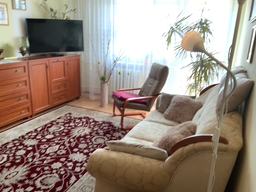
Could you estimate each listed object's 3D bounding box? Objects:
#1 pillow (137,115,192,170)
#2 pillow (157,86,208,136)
[{"bbox_3d":[0.320,0.380,1.800,0.120,0.380,0.420,48,29,10],"label":"pillow"},{"bbox_3d":[0.660,0.180,2.620,0.160,0.360,0.480,-6,53,-54],"label":"pillow"}]
